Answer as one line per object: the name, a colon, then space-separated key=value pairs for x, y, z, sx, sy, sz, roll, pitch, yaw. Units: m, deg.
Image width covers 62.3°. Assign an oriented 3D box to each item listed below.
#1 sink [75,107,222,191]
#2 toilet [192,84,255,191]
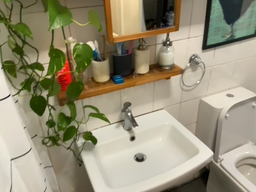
sink: x=0.080 y=0.320 z=1.090 sx=0.590 sy=0.210 sz=0.410 roll=-14 pitch=32 yaw=-20
toilet: x=0.830 y=0.430 z=1.430 sx=0.380 sy=0.780 sz=0.600 roll=-15 pitch=33 yaw=-21
